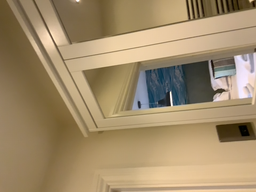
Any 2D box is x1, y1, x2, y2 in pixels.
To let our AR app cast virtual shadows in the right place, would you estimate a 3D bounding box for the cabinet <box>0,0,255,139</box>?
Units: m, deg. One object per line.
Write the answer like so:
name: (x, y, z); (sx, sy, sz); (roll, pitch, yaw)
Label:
cabinet: (0.160, -0.220, 0.730); (0.160, 1.010, 0.850); (-81, -20, -49)
